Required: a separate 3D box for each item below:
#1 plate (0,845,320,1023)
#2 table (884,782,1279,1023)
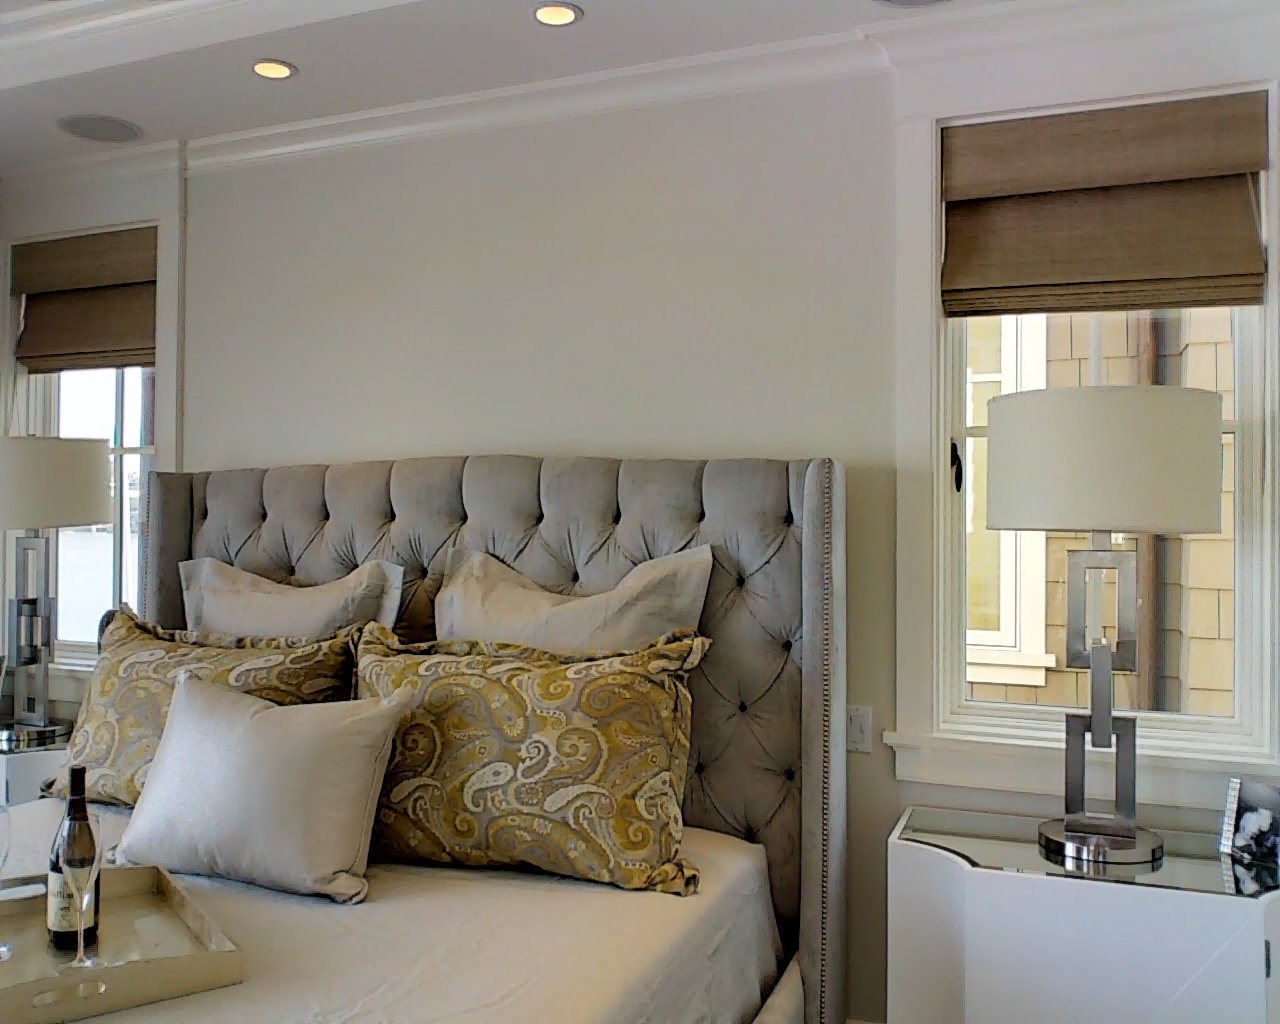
[{"bbox_3d":[-0.950,0.720,1.770,0.620,0.080,0.610,1,-1,-39],"label":"plate"},{"bbox_3d":[1.040,1.070,2.230,0.960,0.800,0.550,0,-1,22],"label":"table"}]
